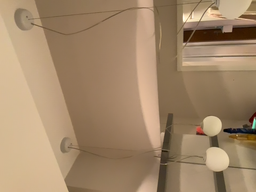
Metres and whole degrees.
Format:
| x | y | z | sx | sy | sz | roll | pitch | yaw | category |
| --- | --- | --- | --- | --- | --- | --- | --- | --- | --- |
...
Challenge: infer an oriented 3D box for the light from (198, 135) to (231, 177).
| x | y | z | sx | sy | sz | roll | pitch | yaw | category |
| --- | --- | --- | --- | --- | --- | --- | --- | --- | --- |
| 0.430 | 0.300 | 1.070 | 0.130 | 0.170 | 0.100 | 1 | 28 | 14 | light |
